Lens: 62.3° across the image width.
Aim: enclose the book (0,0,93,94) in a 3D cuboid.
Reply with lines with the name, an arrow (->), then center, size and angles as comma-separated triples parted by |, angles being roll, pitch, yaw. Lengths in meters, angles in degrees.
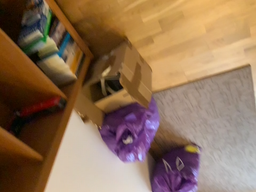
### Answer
book -> -0.460, -0.280, 1.230 | 0.270, 0.260, 0.420 | -18, 131, 23
